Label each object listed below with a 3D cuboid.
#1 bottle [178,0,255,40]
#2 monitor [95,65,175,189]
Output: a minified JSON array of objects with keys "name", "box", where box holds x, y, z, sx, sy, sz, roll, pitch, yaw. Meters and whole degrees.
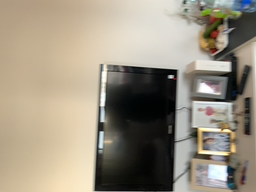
[{"name":"bottle","box":[0.540,-0.590,1.290,0.520,0.290,0.290,139,135,-82]},{"name":"monitor","box":[0.050,0.200,1.380,0.050,0.430,0.750,168,109,-84]}]
